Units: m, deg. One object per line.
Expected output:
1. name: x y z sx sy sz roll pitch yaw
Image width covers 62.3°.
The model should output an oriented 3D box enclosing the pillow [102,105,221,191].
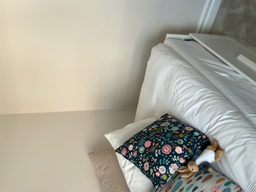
1. pillow: 0.130 0.350 1.250 0.660 0.420 0.220 -117 30 -50

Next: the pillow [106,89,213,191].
1. pillow: 0.140 0.240 1.140 0.160 0.390 0.530 -50 36 16
